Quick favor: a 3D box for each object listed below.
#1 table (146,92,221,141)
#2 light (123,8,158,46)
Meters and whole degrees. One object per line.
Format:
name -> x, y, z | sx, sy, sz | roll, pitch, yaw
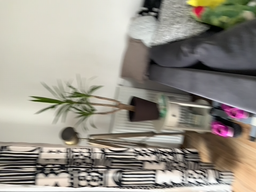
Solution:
table -> 0.570, 0.210, 2.250 | 0.370, 0.600, 0.380 | -146, 64, -70
light -> 0.110, -0.670, 2.100 | 0.280, 0.220, 0.290 | -144, 63, -70
